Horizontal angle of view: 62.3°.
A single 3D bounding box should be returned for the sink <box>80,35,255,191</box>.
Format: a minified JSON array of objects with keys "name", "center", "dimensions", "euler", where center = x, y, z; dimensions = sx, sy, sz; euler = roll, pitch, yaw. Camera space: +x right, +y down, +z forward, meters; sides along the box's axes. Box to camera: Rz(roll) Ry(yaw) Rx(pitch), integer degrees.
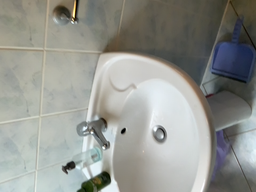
[{"name":"sink","center":[0.070,0.140,0.720],"dimensions":[0.450,0.170,0.580],"euler":[28,115,38]}]
